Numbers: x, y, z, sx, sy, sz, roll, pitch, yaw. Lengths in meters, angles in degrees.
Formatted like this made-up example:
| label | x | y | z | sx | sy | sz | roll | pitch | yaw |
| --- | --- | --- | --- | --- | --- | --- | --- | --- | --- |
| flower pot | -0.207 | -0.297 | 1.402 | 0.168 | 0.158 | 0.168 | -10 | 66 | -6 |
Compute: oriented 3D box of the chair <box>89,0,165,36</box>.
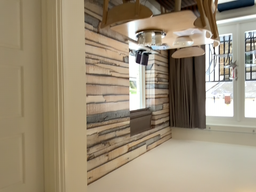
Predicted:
| label | x | y | z | sx | sy | sz | roll | pitch | yaw |
| --- | --- | --- | --- | --- | --- | --- | --- | --- | --- |
| chair | 0.010 | -1.070 | 1.970 | 0.490 | 0.820 | 0.560 | 0 | -179 | 32 |

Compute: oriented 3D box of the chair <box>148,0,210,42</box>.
| label | x | y | z | sx | sy | sz | roll | pitch | yaw |
| --- | --- | --- | --- | --- | --- | --- | --- | --- | --- |
| chair | 0.560 | -1.080 | 2.300 | 0.520 | 0.820 | 0.490 | 1 | -179 | 33 |
